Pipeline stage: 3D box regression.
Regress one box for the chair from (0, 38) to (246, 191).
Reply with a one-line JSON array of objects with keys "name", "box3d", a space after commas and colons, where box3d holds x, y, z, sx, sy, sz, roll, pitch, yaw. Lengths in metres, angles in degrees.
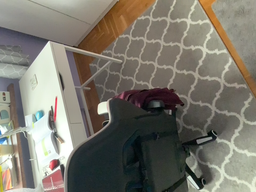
[{"name": "chair", "box3d": [0.020, 0.330, 1.160, 0.730, 1.210, 0.740, -17, 75, 39]}]
